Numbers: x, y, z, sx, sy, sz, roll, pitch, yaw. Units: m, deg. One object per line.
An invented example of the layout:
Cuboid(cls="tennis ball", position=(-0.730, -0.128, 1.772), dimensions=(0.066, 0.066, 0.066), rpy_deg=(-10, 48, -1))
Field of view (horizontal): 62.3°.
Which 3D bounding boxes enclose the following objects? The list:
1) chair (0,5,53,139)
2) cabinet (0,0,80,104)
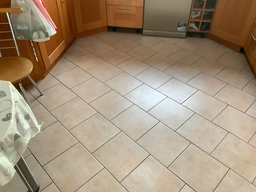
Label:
Cuboid(cls="chair", position=(-0.930, -0.180, 1.600), dimensions=(0.390, 0.780, 0.520), rpy_deg=(-24, 47, -26))
Cuboid(cls="cabinet", position=(-1.040, -0.670, 2.180), dimensions=(0.570, 0.850, 1.190), rpy_deg=(8, 41, 8))
